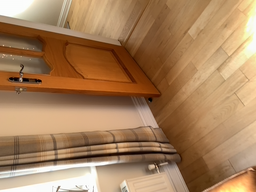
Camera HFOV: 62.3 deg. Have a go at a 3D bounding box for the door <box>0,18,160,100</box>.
[{"bbox_3d":[-0.730,-0.280,1.360,0.740,1.940,0.120,56,132,41],"label":"door"}]
